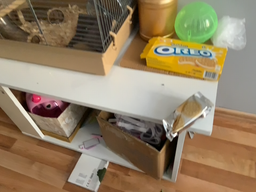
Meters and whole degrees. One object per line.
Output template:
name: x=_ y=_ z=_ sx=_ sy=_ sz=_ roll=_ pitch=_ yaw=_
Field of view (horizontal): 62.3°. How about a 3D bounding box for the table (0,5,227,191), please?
table: x=-0.110 y=-0.020 z=0.840 sx=0.810 sy=0.430 sz=0.410 roll=12 pitch=52 yaw=16
